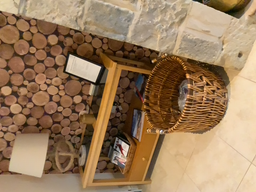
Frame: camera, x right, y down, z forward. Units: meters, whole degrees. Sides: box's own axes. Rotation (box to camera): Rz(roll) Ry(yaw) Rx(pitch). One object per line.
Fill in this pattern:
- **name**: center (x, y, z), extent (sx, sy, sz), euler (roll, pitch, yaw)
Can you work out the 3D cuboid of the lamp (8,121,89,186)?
- **lamp**: center (-0.750, 0.530, 2.020), extent (0.440, 0.610, 0.370), euler (47, 125, 59)
